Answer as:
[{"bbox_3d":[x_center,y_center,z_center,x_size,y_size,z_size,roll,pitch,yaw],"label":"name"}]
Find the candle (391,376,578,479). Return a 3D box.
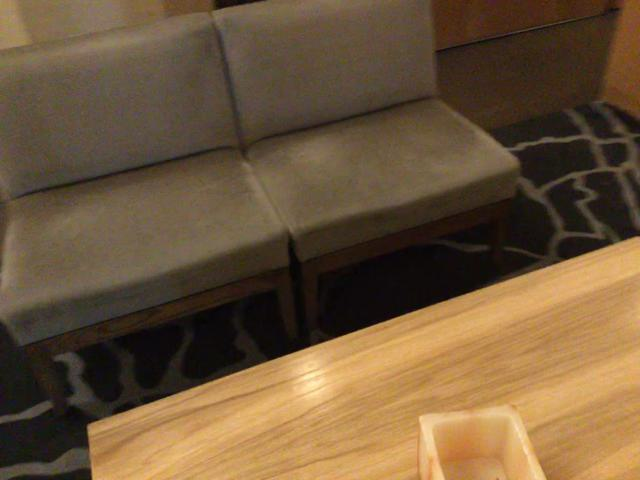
[{"bbox_3d":[0.220,0.330,0.820,0.180,0.140,0.170,-16,38,-14],"label":"candle"}]

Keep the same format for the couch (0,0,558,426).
[{"bbox_3d":[-0.200,-0.230,1.770,1.480,0.840,0.730,-16,38,-14],"label":"couch"}]
